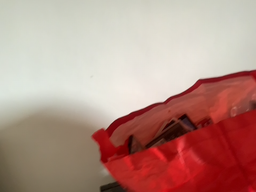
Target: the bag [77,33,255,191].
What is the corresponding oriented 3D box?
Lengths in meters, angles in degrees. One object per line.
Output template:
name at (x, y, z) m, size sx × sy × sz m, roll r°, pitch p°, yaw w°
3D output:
bag at (0.180, 0.120, 0.560) m, size 0.510 × 0.440 × 0.580 m, roll -9°, pitch 26°, yaw -16°
